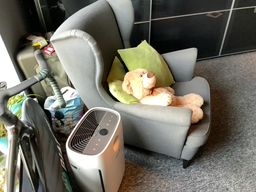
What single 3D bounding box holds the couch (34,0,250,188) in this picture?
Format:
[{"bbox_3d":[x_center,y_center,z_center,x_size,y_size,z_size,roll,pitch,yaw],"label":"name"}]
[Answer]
[{"bbox_3d":[0.120,-0.070,1.520,0.930,0.980,0.820,8,40,11],"label":"couch"}]
